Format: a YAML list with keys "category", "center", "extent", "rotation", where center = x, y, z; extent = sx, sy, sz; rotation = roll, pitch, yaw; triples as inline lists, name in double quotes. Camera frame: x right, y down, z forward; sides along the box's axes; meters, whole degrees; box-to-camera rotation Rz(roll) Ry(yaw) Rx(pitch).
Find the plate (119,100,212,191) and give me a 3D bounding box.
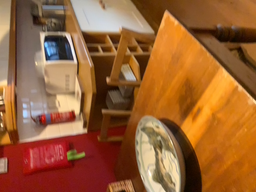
- category: "plate"
  center: [0.130, 0.260, 0.970]
  extent: [0.470, 0.140, 0.390]
  rotation: [150, 112, -66]
